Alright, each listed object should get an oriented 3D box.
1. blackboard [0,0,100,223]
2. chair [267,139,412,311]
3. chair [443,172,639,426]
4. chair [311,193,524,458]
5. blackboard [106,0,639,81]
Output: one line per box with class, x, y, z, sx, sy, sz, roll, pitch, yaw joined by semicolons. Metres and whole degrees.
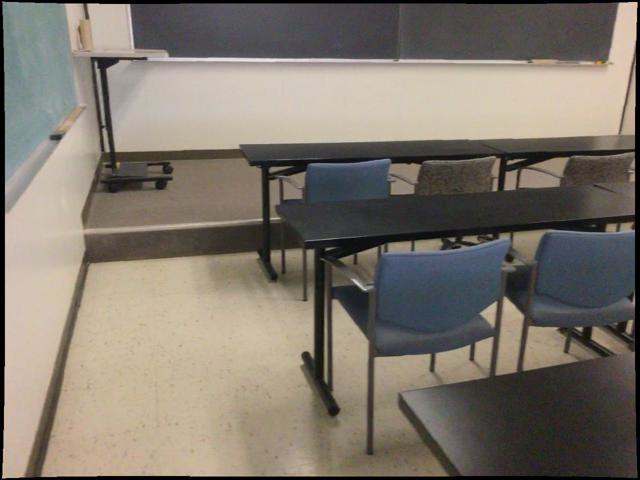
blackboard;-1.247;-1.073;2.600;0.130;1.363;2.370;-5;20;-14
chair;0.080;-0.120;3.290;0.648;0.792;0.610;-5;20;-14
chair;0.918;0.190;2.320;0.569;0.792;0.590;-5;20;-14
chair;0.309;0.271;2.150;0.549;0.742;0.560;-6;20;-17
blackboard;0.908;-2.246;5.220;5.377;1.473;0.470;-5;20;-14
